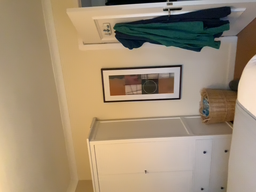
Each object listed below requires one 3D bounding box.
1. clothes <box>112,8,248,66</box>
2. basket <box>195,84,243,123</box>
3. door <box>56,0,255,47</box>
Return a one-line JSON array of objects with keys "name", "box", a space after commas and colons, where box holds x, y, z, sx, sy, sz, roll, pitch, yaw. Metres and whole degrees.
[{"name": "clothes", "box": [0.510, -0.640, 2.440, 0.680, 1.320, 0.290, 87, 180, -76]}, {"name": "basket", "box": [1.190, 0.090, 2.830, 0.400, 0.430, 0.370, -93, 0, -69]}, {"name": "door", "box": [0.380, -0.870, 2.400, 0.920, 2.070, 0.180, 87, 180, -80]}]
